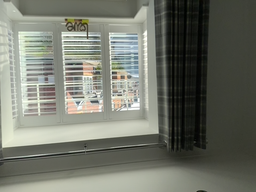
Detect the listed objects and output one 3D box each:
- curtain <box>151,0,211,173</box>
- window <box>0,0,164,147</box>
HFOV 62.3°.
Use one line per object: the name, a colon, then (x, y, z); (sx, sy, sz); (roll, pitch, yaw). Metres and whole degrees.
curtain: (0.470, -0.470, 1.880); (0.480, 2.230, 0.160); (-3, -176, -15)
window: (-0.550, -0.370, 2.590); (1.910, 1.750, 0.350); (-3, -176, -11)
